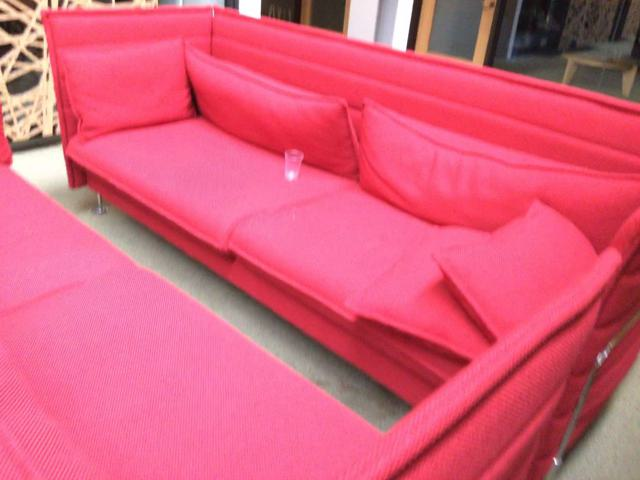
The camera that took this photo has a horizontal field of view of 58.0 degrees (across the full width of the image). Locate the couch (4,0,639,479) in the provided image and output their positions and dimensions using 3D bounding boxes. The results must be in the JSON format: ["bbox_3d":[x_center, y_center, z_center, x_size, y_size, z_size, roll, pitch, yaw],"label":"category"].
[{"bbox_3d":[-0.050,-0.290,2.150,2.480,1.010,1.000,23,34,38],"label":"couch"}]
